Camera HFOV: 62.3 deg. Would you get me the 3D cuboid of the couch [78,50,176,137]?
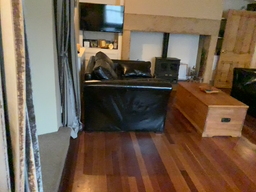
[{"bbox_3d":[-0.110,-0.170,3.340,1.110,0.820,1.760,2,19,-7],"label":"couch"}]
